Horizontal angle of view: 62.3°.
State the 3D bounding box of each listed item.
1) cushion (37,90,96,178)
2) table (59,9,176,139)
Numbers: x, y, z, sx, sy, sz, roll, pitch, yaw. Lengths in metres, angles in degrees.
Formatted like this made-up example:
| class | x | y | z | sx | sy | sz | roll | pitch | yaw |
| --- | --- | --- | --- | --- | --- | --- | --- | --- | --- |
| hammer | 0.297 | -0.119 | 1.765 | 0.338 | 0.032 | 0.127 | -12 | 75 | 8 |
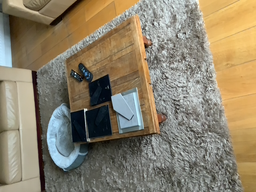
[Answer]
| class | x | y | z | sx | sy | sz | roll | pitch | yaw |
| --- | --- | --- | --- | --- | --- | --- | --- | --- | --- |
| cushion | -0.690 | 0.410 | 2.250 | 0.710 | 0.120 | 0.680 | -39 | 65 | 35 |
| table | -0.150 | -0.090 | 1.680 | 0.890 | 0.280 | 0.740 | -17 | 78 | 41 |
